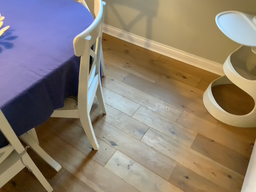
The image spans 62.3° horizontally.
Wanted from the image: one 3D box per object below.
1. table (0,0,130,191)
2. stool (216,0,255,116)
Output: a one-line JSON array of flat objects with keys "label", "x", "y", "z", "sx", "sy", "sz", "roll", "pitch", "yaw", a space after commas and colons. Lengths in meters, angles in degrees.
[{"label": "table", "x": -0.850, "y": 0.020, "z": 1.290, "sx": 1.120, "sy": 0.750, "sz": 1.520, "roll": 22, "pitch": 51, "yaw": 19}, {"label": "stool", "x": 1.020, "y": -0.310, "z": 1.560, "sx": 0.280, "sy": 0.850, "sz": 0.420, "roll": -14, "pitch": 49, "yaw": -12}]
